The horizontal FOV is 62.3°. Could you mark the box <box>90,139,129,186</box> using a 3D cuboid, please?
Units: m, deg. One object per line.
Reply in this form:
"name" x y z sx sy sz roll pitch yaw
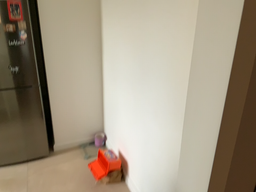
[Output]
"box" -0.180 0.610 1.990 0.280 0.240 0.280 -8 23 -23
